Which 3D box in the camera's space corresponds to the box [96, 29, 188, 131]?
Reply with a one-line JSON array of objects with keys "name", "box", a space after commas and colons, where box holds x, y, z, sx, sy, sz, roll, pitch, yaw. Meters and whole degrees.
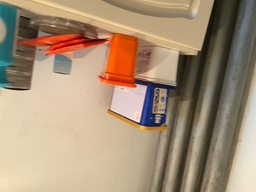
[{"name": "box", "box": [0.030, -0.060, 0.710, 0.140, 0.280, 0.240, 4, -170, -37]}]
